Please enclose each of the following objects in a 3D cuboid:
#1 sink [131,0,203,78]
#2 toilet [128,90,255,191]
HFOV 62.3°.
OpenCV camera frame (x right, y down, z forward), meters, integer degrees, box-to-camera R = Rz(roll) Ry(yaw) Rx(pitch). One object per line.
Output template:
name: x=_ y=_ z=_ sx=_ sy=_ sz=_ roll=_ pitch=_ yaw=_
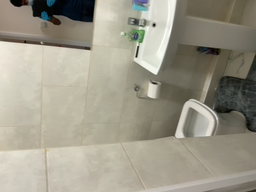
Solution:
sink: x=0.230 y=-0.450 z=1.380 sx=0.390 sy=0.200 sz=0.560 roll=-136 pitch=51 yaw=-59
toilet: x=0.490 y=0.320 z=1.710 sx=0.420 sy=0.800 sz=0.600 roll=-135 pitch=51 yaw=-58
